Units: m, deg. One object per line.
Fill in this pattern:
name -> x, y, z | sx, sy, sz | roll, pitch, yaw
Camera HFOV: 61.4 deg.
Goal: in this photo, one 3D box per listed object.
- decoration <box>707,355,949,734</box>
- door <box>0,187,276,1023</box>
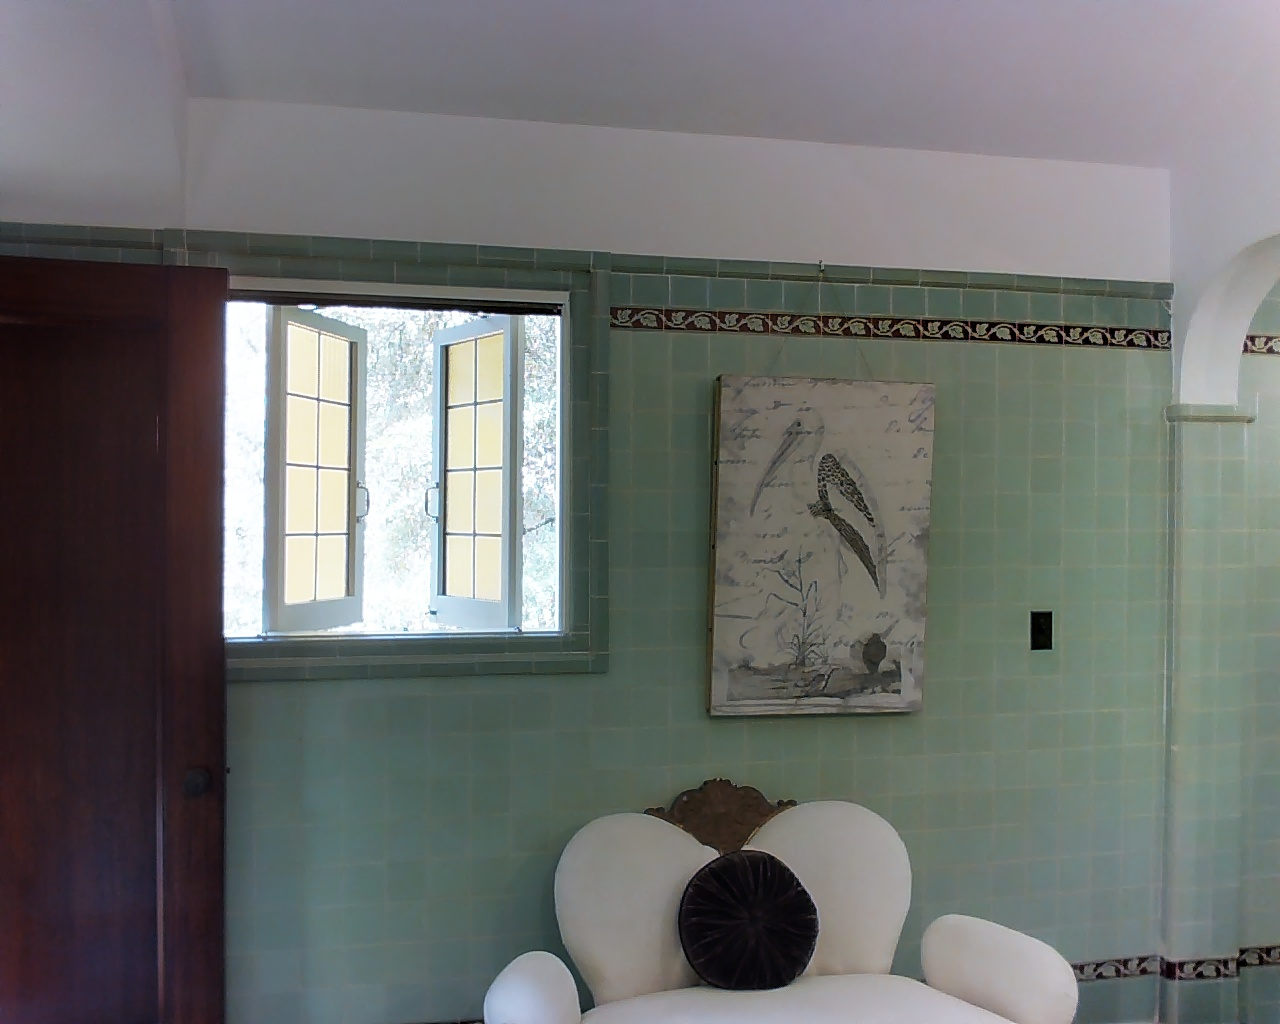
decoration -> 0.520, 0.090, 2.980 | 0.650, 1.010, 0.110 | 1, 0, -10
door -> -1.330, 0.410, 2.510 | 0.890, 2.290, 0.060 | 1, 0, -14
